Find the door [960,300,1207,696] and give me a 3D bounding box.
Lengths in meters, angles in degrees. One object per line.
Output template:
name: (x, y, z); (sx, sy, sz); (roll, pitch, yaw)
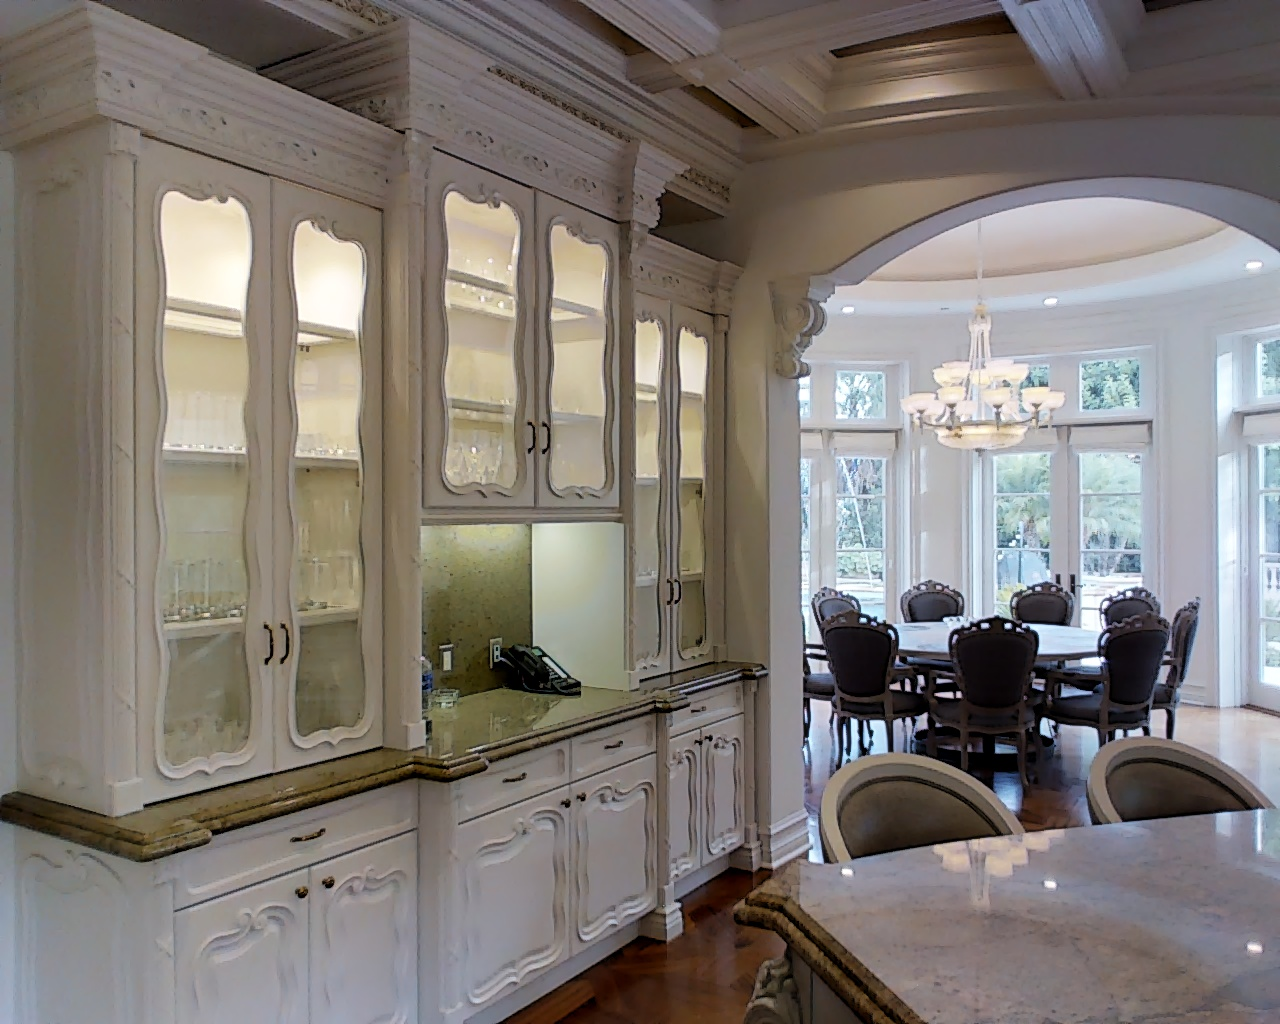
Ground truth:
door: (3.989, -0.120, 9.770); (2.070, 3.371, 0.230); (0, 0, 33)
